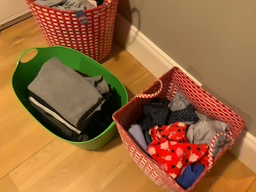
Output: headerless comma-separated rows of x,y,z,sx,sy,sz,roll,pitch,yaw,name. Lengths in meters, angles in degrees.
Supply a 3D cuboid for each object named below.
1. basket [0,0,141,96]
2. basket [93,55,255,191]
-0.290,-0.410,1.170,0.490,0.430,0.500,38,64,17,basket
0.170,0.160,0.930,0.440,0.310,0.440,-35,67,-21,basket
